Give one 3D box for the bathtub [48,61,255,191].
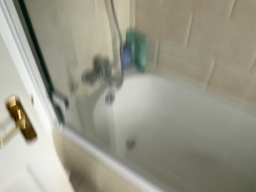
[{"bbox_3d":[0.500,0.490,1.110,1.700,0.540,0.700,26,50,24],"label":"bathtub"}]
